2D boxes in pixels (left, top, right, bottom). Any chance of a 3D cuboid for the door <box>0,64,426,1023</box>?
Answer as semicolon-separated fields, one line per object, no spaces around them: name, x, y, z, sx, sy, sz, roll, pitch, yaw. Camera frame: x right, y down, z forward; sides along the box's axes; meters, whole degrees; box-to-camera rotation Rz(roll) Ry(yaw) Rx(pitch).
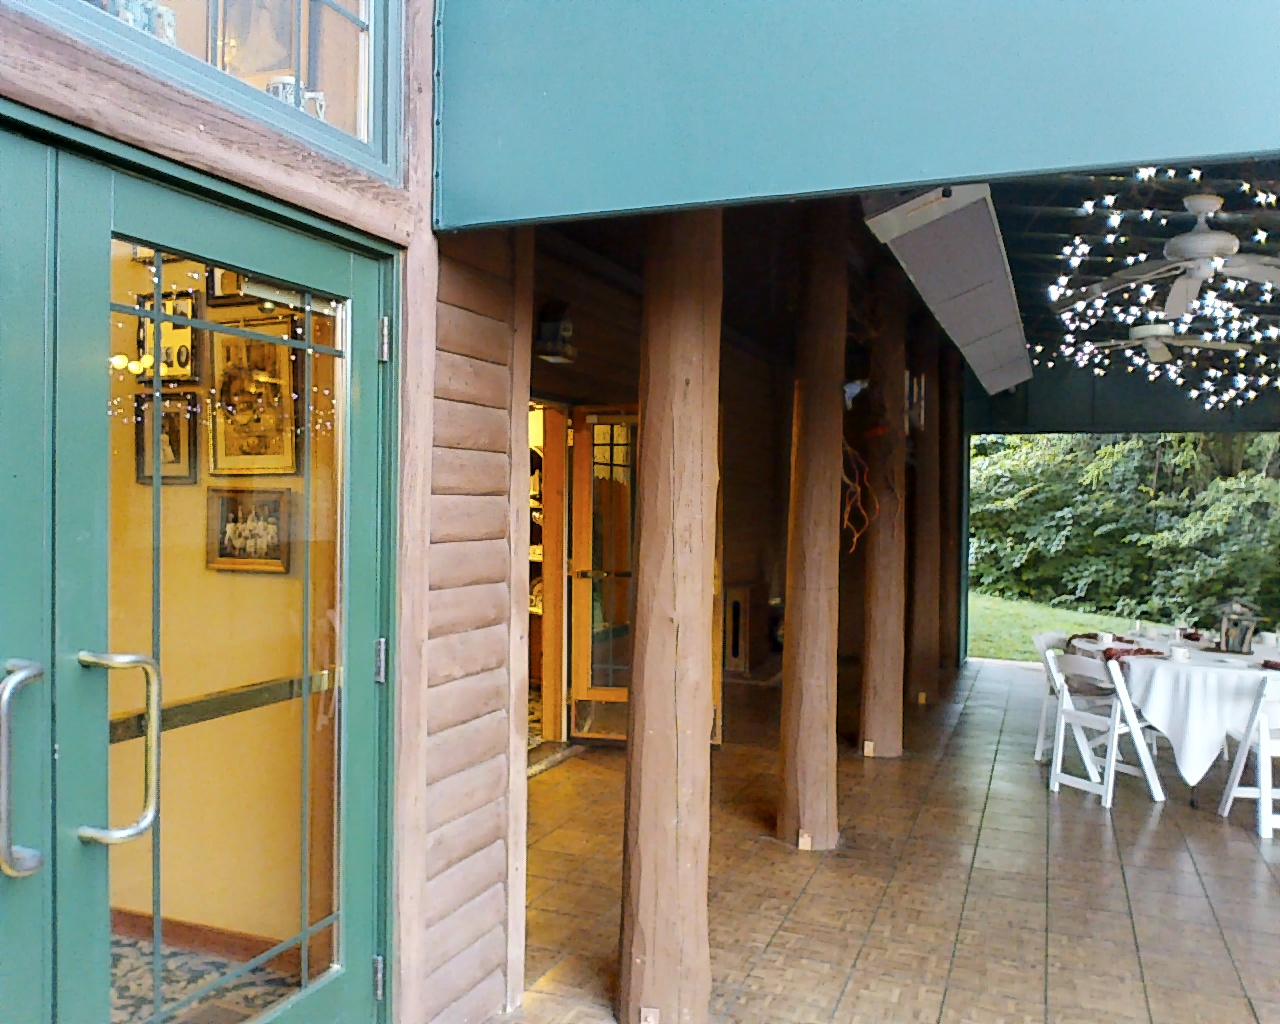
door;-0.950;0.380;1.860;0.110;2.110;1.890;1;1;21
